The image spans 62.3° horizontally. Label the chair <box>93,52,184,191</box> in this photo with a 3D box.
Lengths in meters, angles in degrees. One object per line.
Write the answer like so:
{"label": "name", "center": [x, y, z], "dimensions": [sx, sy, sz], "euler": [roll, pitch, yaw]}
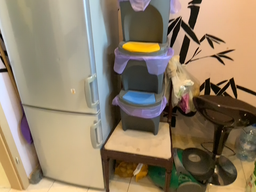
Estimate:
{"label": "chair", "center": [0.120, 0.220, 1.580], "dimensions": [0.460, 0.900, 0.610], "euler": [7, 30, 14]}
